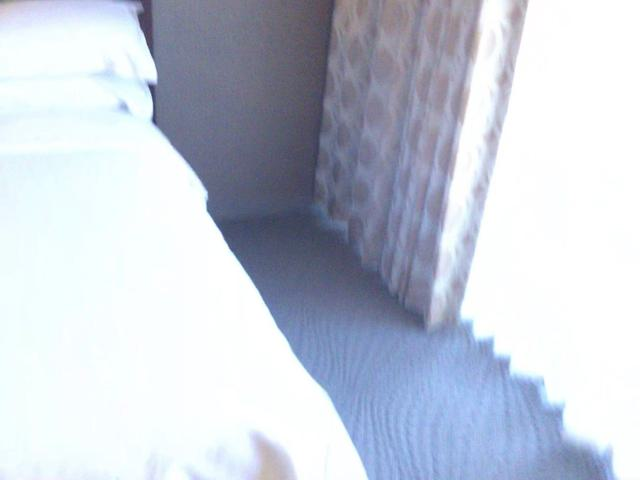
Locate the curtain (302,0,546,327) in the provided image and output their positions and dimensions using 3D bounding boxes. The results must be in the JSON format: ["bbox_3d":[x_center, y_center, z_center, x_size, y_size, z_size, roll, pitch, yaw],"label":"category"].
[{"bbox_3d":[0.370,-0.940,2.300,0.200,2.290,1.160,-7,29,-27],"label":"curtain"}]
